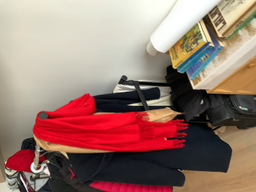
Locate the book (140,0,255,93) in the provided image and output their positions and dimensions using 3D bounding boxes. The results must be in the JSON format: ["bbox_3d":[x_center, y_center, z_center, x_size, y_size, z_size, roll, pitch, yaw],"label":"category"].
[{"bbox_3d":[0.340,-0.320,0.850,0.610,0.270,0.360,-48,47,52],"label":"book"}]
